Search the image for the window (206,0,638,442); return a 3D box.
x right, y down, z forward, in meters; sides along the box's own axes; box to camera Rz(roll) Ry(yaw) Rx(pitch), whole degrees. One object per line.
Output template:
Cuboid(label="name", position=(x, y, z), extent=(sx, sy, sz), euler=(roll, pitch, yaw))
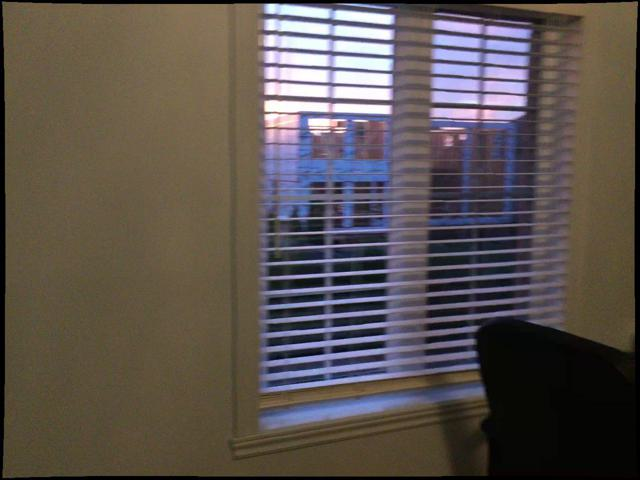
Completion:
Cuboid(label="window", position=(0.360, -0.160, 1.900), extent=(1.369, 1.361, 0.280), euler=(-4, 10, -20))
